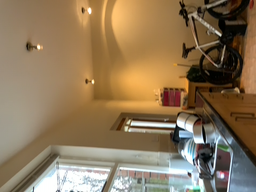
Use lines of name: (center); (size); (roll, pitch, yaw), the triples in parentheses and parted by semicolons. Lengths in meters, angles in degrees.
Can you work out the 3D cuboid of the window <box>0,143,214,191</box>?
window: (-0.150, 0.840, 2.030); (1.020, 1.780, 0.220); (-58, -30, -74)
